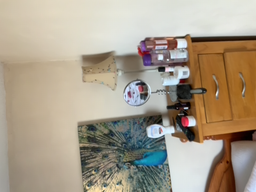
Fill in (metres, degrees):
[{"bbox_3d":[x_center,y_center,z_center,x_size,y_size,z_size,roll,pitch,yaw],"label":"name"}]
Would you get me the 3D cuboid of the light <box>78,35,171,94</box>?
[{"bbox_3d":[-0.030,-0.210,1.450,0.210,0.570,0.340,170,96,-80],"label":"light"}]
